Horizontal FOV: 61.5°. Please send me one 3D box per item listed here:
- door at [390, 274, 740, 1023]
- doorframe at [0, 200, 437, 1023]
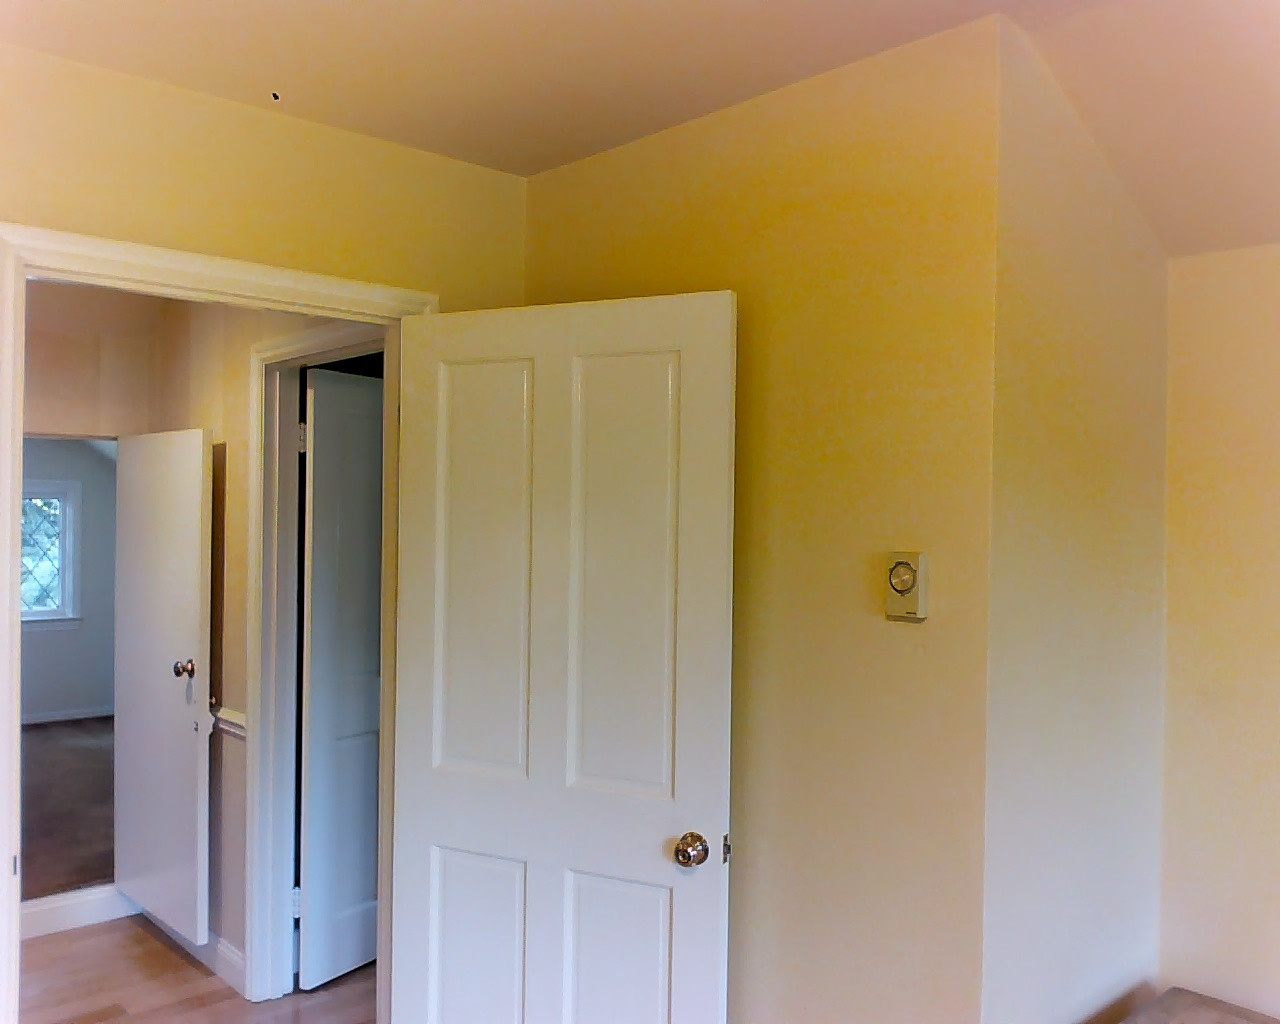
[{"bbox_3d":[-0.190,0.550,2.350,0.820,2.060,0.050,1,0,25],"label":"door"},{"bbox_3d":[-0.920,0.500,2.360,0.910,2.130,0.260,0,0,-42],"label":"doorframe"}]
